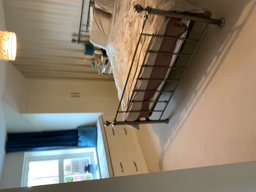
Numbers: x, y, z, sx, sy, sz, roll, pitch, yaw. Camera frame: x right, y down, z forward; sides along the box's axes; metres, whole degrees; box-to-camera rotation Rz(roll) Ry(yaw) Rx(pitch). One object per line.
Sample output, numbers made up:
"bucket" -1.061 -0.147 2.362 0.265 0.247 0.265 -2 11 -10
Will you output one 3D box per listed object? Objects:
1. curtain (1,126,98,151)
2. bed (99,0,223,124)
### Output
"curtain" -1.480 0.820 4.190 0.170 1.750 0.380 139 129 -64
"bed" 0.160 -0.960 3.240 2.210 0.650 1.620 -108 28 -43
